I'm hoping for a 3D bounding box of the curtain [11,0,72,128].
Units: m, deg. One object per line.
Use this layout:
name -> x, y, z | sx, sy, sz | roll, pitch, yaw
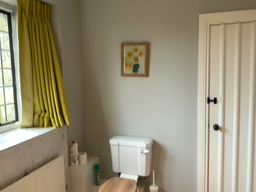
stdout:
curtain -> -0.810, -0.310, 2.040 | 0.340, 1.160, 0.340 | 1, 7, 18
